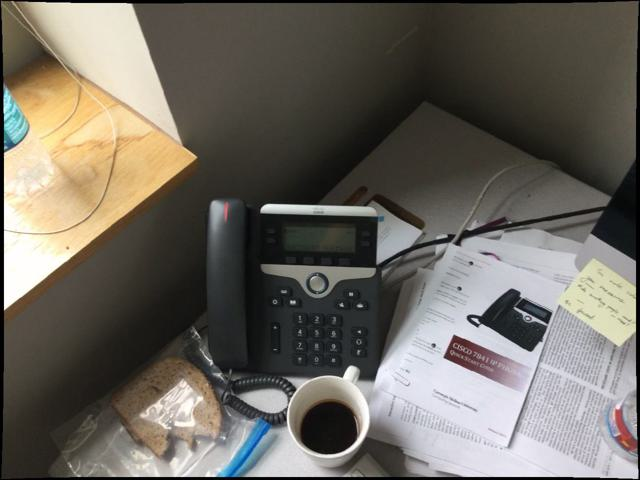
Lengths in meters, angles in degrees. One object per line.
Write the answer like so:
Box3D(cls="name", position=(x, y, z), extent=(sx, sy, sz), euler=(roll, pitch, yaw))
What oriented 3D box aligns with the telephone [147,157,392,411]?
Box3D(cls="telephone", position=(-0.040, 0.050, 0.700), extent=(0.210, 0.180, 0.210), euler=(9, 55, 15))
